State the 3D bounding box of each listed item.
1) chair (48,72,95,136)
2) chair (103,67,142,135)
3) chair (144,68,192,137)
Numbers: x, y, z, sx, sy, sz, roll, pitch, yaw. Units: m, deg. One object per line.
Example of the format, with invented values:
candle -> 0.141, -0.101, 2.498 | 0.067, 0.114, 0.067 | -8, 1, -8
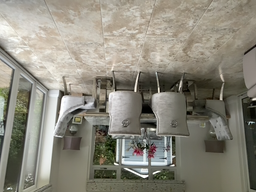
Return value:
chair -> -0.970, 0.170, 3.830 | 0.660, 1.040, 0.580 | 3, 167, -5
chair -> -0.070, 0.120, 3.530 | 0.560, 1.010, 0.670 | 1, 167, 1
chair -> 0.630, 0.150, 3.580 | 0.580, 1.030, 0.670 | 4, 167, -9
